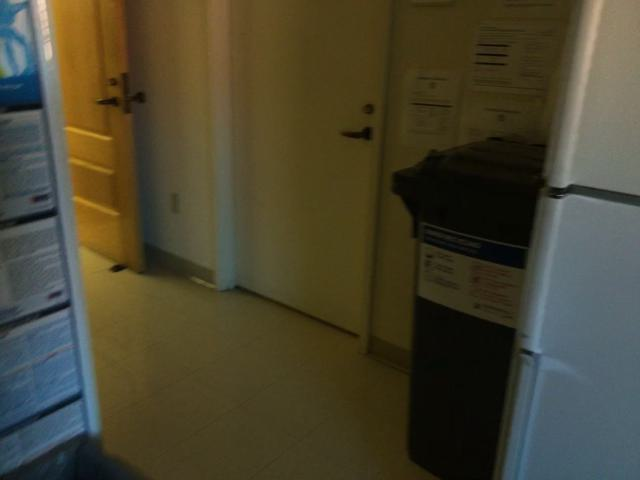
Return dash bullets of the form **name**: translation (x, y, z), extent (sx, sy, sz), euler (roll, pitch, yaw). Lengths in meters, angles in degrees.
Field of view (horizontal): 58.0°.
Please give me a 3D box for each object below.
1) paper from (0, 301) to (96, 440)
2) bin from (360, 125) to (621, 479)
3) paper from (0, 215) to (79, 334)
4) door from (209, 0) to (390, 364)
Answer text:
- **paper**: translation (-0.440, 0.200, 0.830), extent (0.020, 0.160, 0.220), euler (19, 28, 37)
- **bin**: translation (0.470, 0.230, 1.730), extent (0.480, 1.020, 0.450), euler (19, 28, 37)
- **paper**: translation (-0.440, 0.060, 0.780), extent (0.020, 0.140, 0.210), euler (19, 28, 37)
- **door**: translation (-0.120, -0.540, 2.460), extent (0.810, 2.070, 0.180), euler (19, 28, 37)
